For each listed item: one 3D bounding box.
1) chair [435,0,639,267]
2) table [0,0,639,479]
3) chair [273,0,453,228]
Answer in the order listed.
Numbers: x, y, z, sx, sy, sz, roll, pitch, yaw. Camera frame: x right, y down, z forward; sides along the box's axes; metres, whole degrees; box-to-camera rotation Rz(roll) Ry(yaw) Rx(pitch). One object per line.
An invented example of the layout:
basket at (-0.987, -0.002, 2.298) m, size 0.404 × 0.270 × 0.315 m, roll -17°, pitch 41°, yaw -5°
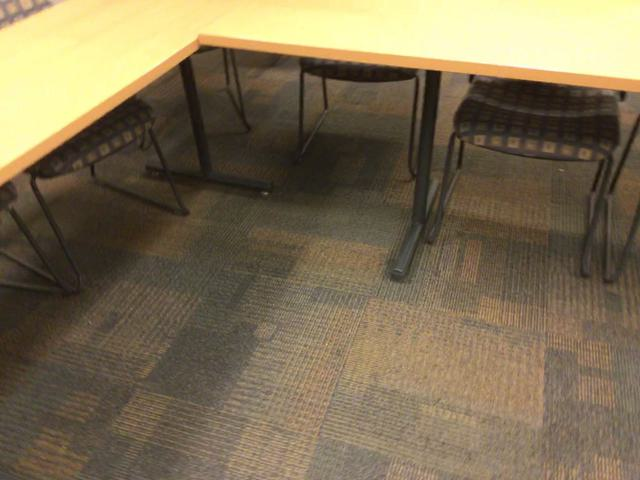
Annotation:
chair at (0.640, -0.420, 1.690) m, size 0.500 × 0.800 × 0.500 m, roll 7°, pitch 35°, yaw 18°
table at (0.430, 0.600, 0.340) m, size 4.050 × 0.930 × 4.770 m, roll 7°, pitch 35°, yaw 18°
chair at (0.200, -0.620, 2.160) m, size 0.490 × 0.950 × 0.560 m, roll 7°, pitch 35°, yaw 18°
